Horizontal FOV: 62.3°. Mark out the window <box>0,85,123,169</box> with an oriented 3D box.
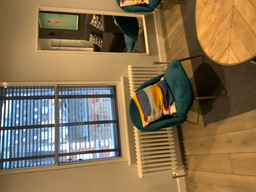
[{"bbox_3d":[-0.880,0.350,2.730,0.130,1.560,0.980,130,136,-67],"label":"window"}]
